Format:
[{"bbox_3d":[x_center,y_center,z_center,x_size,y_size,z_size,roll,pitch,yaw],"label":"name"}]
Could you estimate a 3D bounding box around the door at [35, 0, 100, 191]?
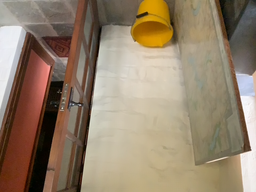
[{"bbox_3d":[-0.360,0.100,1.420,0.050,1.880,0.690,5,161,0],"label":"door"}]
